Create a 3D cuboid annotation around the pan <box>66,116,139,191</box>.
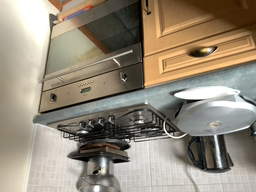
[{"bbox_3d":[-0.150,0.400,1.290,0.350,0.460,0.220,-13,154,23],"label":"pan"}]
